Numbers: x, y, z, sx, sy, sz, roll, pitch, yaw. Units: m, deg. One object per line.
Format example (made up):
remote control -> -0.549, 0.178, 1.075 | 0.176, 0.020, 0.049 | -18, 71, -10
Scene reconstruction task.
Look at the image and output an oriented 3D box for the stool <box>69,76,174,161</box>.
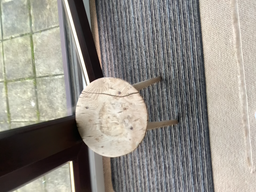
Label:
stool -> 0.010, 0.070, 0.950 | 0.280, 0.450, 0.280 | -5, 92, 23
